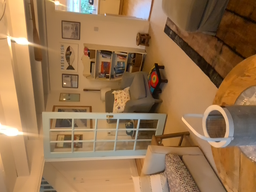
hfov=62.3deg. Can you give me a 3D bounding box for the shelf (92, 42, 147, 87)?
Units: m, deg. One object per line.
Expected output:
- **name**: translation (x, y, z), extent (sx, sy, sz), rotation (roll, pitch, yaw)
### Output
- **shelf**: translation (-0.230, -0.710, 4.950), extent (0.230, 1.130, 0.960), rotation (-108, 24, -54)
